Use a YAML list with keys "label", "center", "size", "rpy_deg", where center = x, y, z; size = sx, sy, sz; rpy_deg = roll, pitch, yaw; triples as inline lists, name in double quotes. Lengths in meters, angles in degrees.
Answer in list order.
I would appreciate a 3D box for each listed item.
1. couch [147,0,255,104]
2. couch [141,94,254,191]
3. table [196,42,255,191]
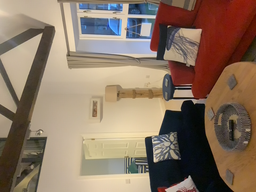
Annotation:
- label: "couch"
  center: [0.810, -0.750, 2.410]
  size: [1.380, 0.830, 1.040]
  rpy_deg: [98, 170, -48]
- label: "couch"
  center: [0.780, 1.190, 2.600]
  size: [1.120, 0.830, 2.250]
  rpy_deg: [98, 170, -49]
- label: "table"
  center: [1.080, 0.260, 1.770]
  size: [0.980, 0.440, 0.990]
  rpy_deg: [98, 170, -48]
